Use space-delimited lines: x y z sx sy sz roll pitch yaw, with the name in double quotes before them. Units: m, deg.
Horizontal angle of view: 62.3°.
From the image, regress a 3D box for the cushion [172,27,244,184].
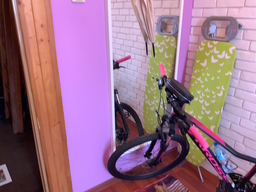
"cushion" 0.640 0.100 1.840 0.180 1.310 0.370 -15 27 -34
